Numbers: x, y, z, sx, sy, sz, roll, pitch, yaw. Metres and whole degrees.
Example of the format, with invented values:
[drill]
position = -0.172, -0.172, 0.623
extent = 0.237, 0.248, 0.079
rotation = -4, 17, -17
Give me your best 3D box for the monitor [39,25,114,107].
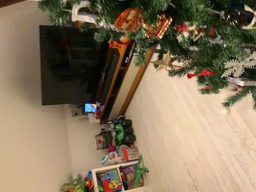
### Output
[monitor]
position = -0.780, -0.330, 3.050
extent = 1.480, 0.860, 0.060
rotation = 114, 145, -47
